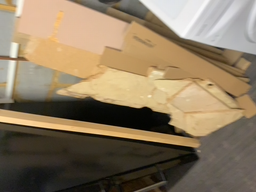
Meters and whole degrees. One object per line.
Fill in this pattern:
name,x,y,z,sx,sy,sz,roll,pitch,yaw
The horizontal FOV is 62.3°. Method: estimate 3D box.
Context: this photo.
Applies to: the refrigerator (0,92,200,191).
refrigerator,-0.470,0.440,1.350,0.670,1.840,0.610,56,132,34
